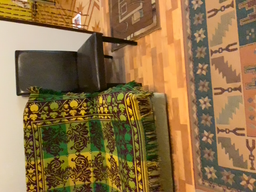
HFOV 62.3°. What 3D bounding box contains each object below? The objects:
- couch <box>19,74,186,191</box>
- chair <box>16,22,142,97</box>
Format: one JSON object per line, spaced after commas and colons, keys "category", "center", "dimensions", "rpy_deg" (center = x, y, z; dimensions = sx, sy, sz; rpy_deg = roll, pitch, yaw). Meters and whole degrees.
{"category": "couch", "center": [-0.250, 0.910, 1.710], "dimensions": [1.080, 0.910, 1.990], "rpy_deg": [-7, 85, 54]}
{"category": "chair", "center": [-0.450, -0.250, 1.940], "dimensions": [0.650, 0.920, 0.460], "rpy_deg": [-7, 85, 54]}
